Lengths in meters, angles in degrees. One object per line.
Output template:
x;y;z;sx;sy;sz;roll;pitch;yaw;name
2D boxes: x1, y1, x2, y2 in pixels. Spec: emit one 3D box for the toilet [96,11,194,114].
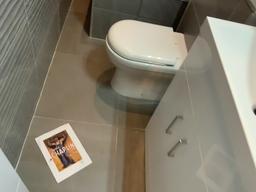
0.080;-0.210;1.470;0.510;0.470;0.420;9;53;-9;toilet
